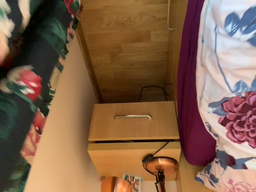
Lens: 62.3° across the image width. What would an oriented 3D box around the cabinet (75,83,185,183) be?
[{"bbox_3d":[0.030,0.210,1.110,0.440,0.330,0.430,-2,139,6],"label":"cabinet"}]
